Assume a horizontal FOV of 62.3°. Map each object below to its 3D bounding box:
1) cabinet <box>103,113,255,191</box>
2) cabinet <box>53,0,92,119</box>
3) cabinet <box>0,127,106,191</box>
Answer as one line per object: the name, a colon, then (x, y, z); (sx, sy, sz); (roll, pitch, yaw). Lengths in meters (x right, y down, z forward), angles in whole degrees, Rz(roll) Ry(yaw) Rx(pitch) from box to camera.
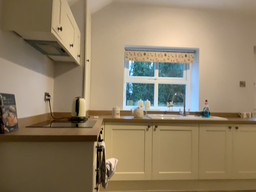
cabinet: (0.840, 0.730, 2.970); (2.330, 0.920, 0.640); (1, -1, -6)
cabinet: (-0.710, -0.470, 2.830); (0.400, 1.490, 0.580); (1, -1, -6)
cabinet: (-0.470, 0.690, 1.440); (0.620, 0.910, 0.300); (1, -1, -6)
